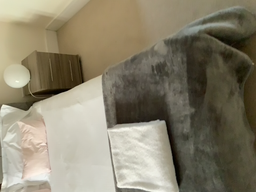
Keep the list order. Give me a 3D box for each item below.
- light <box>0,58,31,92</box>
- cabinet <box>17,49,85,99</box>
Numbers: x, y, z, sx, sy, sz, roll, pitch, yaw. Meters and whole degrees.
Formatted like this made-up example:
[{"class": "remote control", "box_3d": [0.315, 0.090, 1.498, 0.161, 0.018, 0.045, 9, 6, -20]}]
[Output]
[{"class": "light", "box_3d": [-1.190, -0.210, 2.200, 0.320, 0.220, 0.260, -16, 82, 45]}, {"class": "cabinet", "box_3d": [-0.880, -0.230, 2.430, 0.500, 0.530, 0.410, -14, 83, 45]}]
